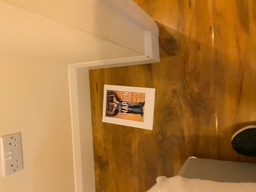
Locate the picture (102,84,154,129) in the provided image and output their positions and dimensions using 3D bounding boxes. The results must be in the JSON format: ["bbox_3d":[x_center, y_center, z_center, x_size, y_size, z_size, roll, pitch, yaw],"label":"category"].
[{"bbox_3d":[-0.010,0.050,1.110,0.290,0.001,0.210,5,95,24],"label":"picture"}]
